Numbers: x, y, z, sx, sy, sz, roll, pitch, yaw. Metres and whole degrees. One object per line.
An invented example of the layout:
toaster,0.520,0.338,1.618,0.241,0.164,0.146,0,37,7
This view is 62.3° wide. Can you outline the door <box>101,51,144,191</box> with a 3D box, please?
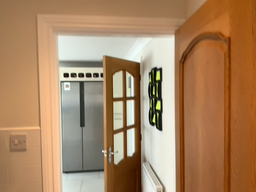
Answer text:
door,-0.030,0.570,2.520,0.100,2.070,0.780,1,3,30
